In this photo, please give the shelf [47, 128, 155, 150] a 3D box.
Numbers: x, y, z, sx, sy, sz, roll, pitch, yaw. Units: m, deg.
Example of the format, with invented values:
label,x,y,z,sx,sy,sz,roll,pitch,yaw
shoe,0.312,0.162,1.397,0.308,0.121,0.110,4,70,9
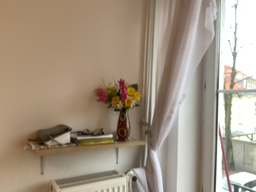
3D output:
label,x,y,z,sx,sy,sz,roll,pitch,yaw
shelf,-0.140,0.240,1.250,0.610,0.060,0.170,3,0,-29
